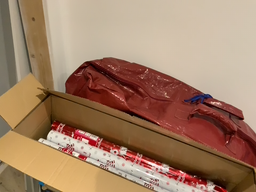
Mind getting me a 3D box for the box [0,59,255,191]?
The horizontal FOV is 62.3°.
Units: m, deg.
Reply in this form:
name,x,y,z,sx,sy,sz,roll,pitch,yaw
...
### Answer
name,x,y,z,sx,sy,sz,roll,pitch,yaw
box,0.020,0.240,0.730,1.020,0.400,0.400,13,37,9
